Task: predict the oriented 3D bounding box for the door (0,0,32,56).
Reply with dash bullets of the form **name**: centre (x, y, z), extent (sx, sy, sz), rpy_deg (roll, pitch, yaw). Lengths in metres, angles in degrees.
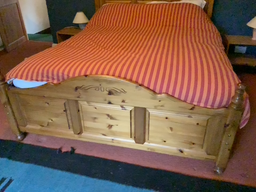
- **door**: centre (-2.060, -1.760, 3.520), extent (0.080, 2.020, 0.760), rpy_deg (4, 30, 8)
